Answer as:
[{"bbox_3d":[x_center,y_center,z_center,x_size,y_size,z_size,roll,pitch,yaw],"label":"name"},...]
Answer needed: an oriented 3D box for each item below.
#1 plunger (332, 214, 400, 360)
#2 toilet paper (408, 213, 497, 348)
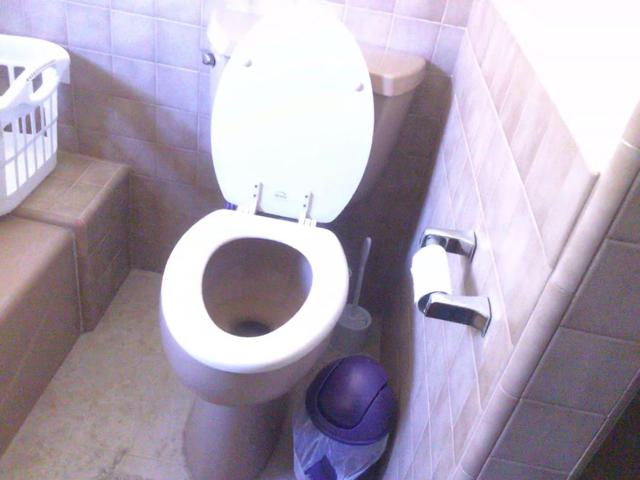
[{"bbox_3d":[0.120,0.130,1.560,0.120,0.350,0.170,9,35,1],"label":"plunger"},{"bbox_3d":[0.180,0.050,0.820,0.090,0.070,0.200,9,35,1],"label":"toilet paper"}]
